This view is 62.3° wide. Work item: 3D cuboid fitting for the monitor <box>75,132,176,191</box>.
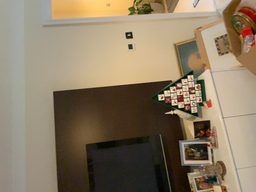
[{"bbox_3d":[0.060,0.900,1.720,0.070,0.710,1.040,116,137,-75],"label":"monitor"}]
